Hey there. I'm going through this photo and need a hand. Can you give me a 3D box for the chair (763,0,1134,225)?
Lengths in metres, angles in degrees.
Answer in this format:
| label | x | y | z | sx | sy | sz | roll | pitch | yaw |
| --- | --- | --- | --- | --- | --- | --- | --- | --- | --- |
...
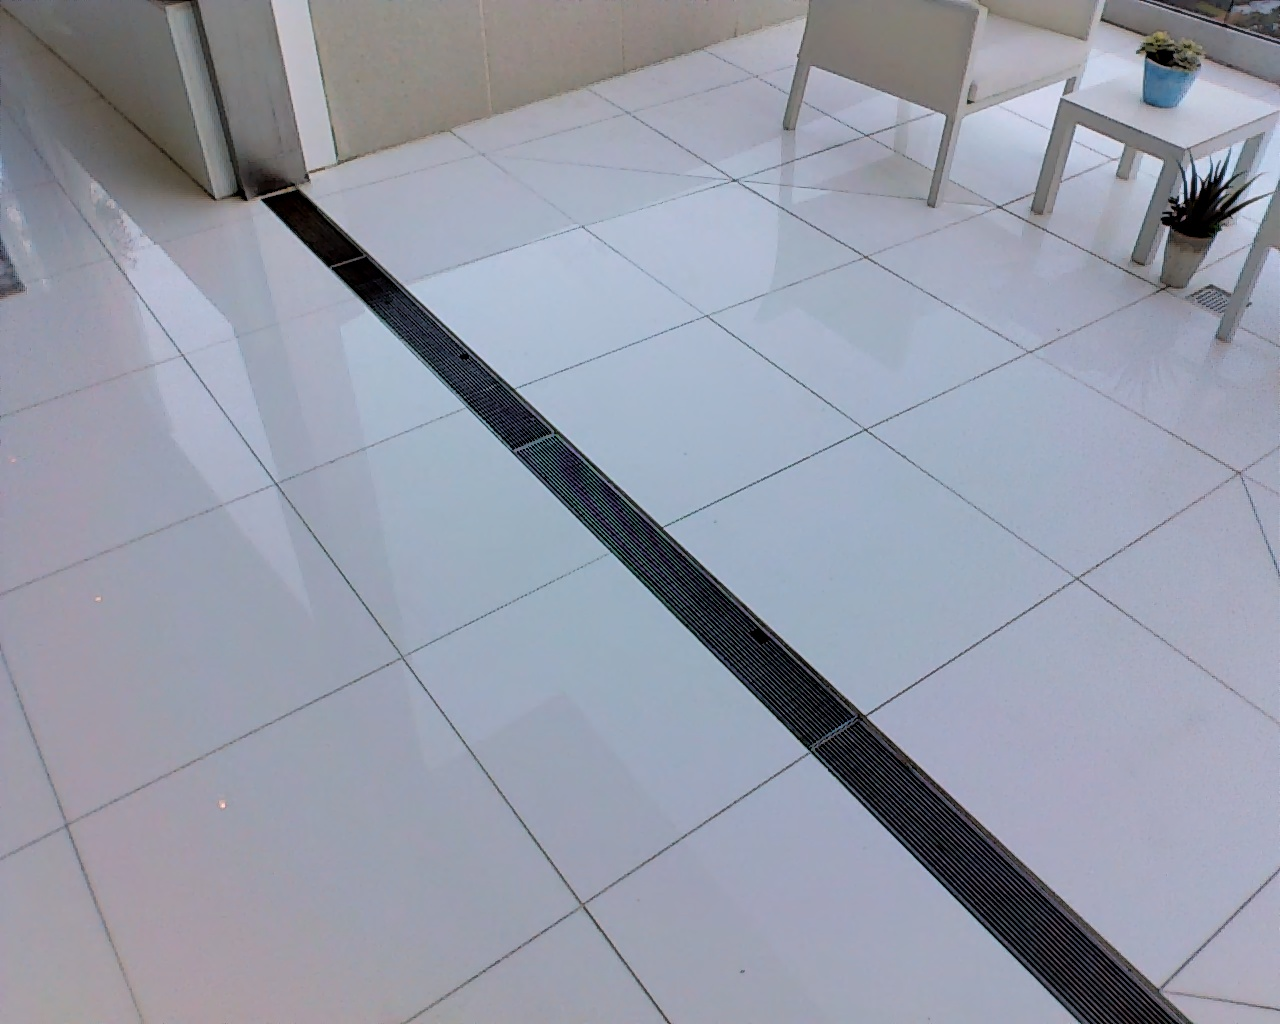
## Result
| label | x | y | z | sx | sy | sz | roll | pitch | yaw |
| --- | --- | --- | --- | --- | --- | --- | --- | --- | --- |
| chair | 0.990 | -1.560 | 3.520 | 0.750 | 0.780 | 0.820 | -26 | 49 | -26 |
